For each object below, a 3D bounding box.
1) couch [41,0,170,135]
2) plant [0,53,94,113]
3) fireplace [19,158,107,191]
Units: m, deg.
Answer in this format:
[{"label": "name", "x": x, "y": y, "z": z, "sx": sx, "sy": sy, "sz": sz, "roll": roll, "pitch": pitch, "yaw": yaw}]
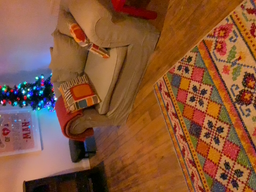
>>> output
[{"label": "couch", "x": -0.440, "y": -0.500, "z": 2.520, "sx": 1.160, "sy": 0.810, "sz": 1.440, "roll": 59, "pitch": 137, "yaw": 39}, {"label": "plant", "x": -1.460, "y": -0.190, "z": 3.520, "sx": 0.620, "sy": 1.530, "sz": 0.680, "roll": -51, "pitch": 50, "yaw": 46}, {"label": "fireplace", "x": -0.970, "y": 1.330, "z": 3.160, "sx": 0.520, "sy": 1.110, "sz": 0.500, "roll": -46, "pitch": 53, "yaw": 49}]
